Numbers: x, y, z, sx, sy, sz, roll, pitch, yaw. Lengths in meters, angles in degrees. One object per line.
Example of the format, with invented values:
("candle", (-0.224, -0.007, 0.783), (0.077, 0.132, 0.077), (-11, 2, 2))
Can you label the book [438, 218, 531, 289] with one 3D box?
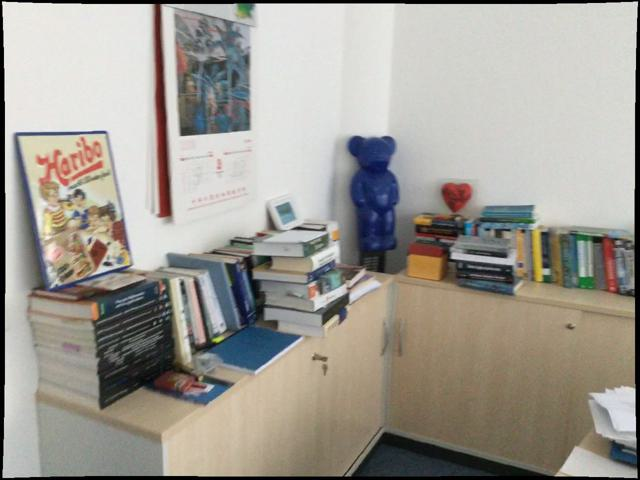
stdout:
("book", (0.719, 0.050, 2.520), (0.330, 0.200, 0.290), (9, 16, 24))

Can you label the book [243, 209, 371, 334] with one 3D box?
("book", (-0.040, 0.090, 2.050), (0.310, 0.310, 0.370), (9, 16, 25))

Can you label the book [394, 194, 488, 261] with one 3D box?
("book", (0.579, -0.070, 2.770), (0.380, 0.230, 0.240), (9, 16, 24))

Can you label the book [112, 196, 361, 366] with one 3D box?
("book", (-0.210, 0.070, 2.190), (0.270, 0.260, 1.260), (9, 16, 24))

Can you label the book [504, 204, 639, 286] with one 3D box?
("book", (1.259, 0.030, 2.460), (0.859, 0.240, 0.230), (9, 16, 24))

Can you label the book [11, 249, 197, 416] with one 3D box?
("book", (-0.549, 0.220, 1.530), (0.280, 0.280, 0.350), (9, 16, 24))
